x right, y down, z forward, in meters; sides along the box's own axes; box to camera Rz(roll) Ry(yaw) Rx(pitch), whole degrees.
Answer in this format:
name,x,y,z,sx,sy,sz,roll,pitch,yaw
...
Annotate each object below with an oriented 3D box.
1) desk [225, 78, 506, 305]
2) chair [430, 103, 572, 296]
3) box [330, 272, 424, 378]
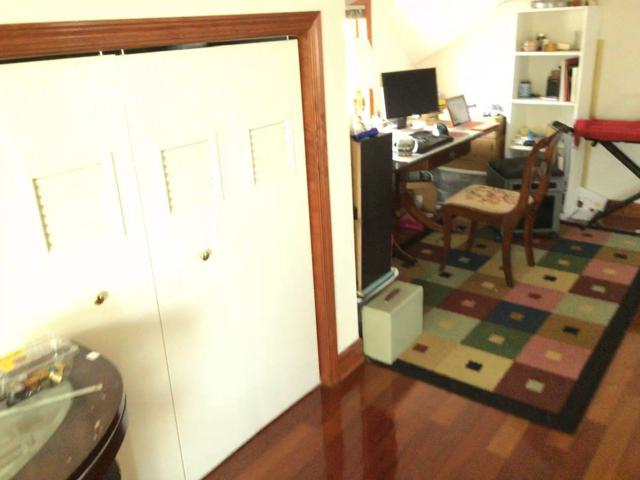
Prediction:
name,x,y,z,sx,sy,sz,roll,pitch,yaw
desk,0.380,-0.460,3.880,1.070,0.870,1.620,16,32,35
chair,0.990,-0.250,3.240,0.560,0.890,0.460,16,33,35
box,0.270,0.380,2.670,0.250,0.270,0.390,16,32,35
